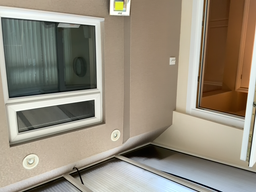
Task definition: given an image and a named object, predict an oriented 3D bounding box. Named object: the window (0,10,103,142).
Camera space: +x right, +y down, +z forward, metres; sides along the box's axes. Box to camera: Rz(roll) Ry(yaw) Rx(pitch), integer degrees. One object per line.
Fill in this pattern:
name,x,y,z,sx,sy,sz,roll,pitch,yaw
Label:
window,-0.640,-0.190,1.870,0.920,0.970,0.100,-11,-163,-40
